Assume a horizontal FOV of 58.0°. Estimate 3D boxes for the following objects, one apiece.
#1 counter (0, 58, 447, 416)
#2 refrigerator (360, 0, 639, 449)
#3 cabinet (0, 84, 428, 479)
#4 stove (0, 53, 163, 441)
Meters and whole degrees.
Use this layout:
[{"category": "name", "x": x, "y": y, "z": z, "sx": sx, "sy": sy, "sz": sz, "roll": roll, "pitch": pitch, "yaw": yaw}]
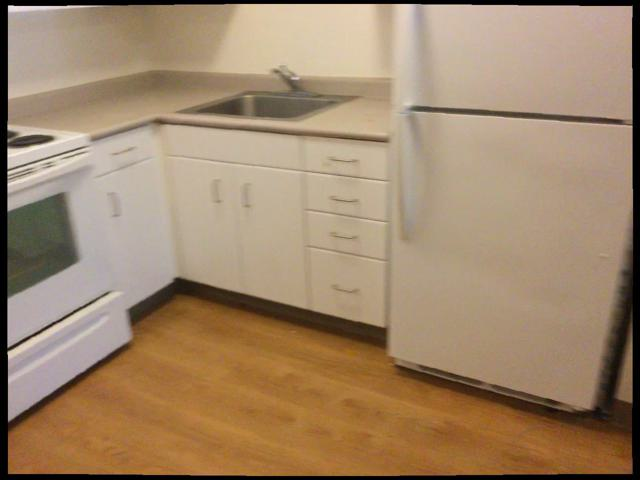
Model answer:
[{"category": "counter", "x": -0.769, "y": -0.381, "z": 2.100, "sx": 1.837, "sy": 0.170, "sz": 2.090, "roll": 12, "pitch": 29, "yaw": 27}, {"category": "refrigerator", "x": 0.659, "y": -0.210, "z": 1.960, "sx": 0.849, "sy": 1.532, "sz": 0.600, "roll": 12, "pitch": 29, "yaw": 27}, {"category": "cabinet", "x": -0.739, "y": 0.080, "z": 2.260, "sx": 1.668, "sy": 0.901, "sz": 2.010, "roll": 12, "pitch": 29, "yaw": 27}, {"category": "stove", "x": -1.337, "y": -0.030, "z": 2.210, "sx": 0.819, "sy": 1.172, "sz": 0.960, "roll": 12, "pitch": 29, "yaw": 27}]
